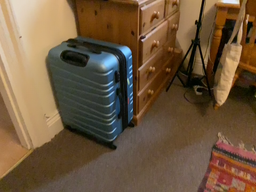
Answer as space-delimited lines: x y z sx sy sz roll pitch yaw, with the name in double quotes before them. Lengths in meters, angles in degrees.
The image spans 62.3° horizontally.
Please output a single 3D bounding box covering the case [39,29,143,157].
"case" -0.200 -0.030 1.370 0.460 0.640 0.350 17 38 22
